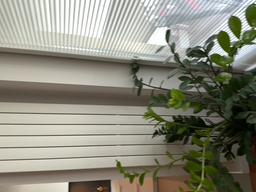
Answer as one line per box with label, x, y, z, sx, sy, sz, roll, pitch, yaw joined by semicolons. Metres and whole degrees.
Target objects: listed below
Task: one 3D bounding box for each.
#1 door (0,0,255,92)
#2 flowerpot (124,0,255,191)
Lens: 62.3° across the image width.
door;0.280;-0.490;0.580;2.370;2.460;0.130;136;134;-67
flowerpot;0.640;0.130;1.200;1.020;1.050;1.090;135;135;-66
